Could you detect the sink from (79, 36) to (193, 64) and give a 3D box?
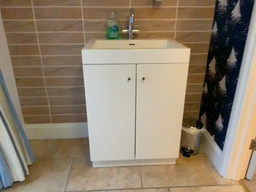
[{"bbox_3d":[0.030,-0.310,1.360,0.610,0.080,0.470,-2,24,-4],"label":"sink"}]
